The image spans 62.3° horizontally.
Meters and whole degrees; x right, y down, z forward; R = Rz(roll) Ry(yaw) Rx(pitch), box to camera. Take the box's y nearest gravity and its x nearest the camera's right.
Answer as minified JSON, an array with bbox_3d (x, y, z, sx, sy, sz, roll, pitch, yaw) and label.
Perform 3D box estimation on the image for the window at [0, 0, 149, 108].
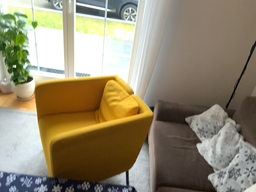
[{"bbox_3d":[-0.680,-1.040,2.310,1.790,2.450,0.170,9,32,-1],"label":"window"}]

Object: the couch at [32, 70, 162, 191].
[{"bbox_3d":[-0.320,0.300,1.800,0.780,0.720,0.760,-8,36,-25],"label":"couch"}]
